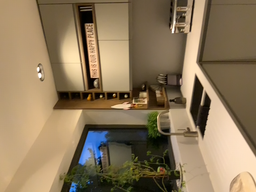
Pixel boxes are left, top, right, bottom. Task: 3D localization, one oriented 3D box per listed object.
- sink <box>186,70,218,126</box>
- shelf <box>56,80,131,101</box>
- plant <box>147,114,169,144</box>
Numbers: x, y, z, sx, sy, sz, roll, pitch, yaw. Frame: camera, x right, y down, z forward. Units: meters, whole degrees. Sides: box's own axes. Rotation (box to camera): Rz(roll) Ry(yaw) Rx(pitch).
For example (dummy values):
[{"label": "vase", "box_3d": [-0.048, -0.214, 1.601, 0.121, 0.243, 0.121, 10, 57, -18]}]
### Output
[{"label": "sink", "box_3d": [0.700, 0.020, 2.050, 0.240, 0.160, 0.480, -85, -5, -60]}, {"label": "shelf", "box_3d": [-0.410, -0.070, 2.650, 0.290, 0.880, 0.130, -85, -5, -59]}, {"label": "plant", "box_3d": [0.330, 0.370, 2.390, 0.200, 0.210, 0.270, -86, -4, -57]}]
